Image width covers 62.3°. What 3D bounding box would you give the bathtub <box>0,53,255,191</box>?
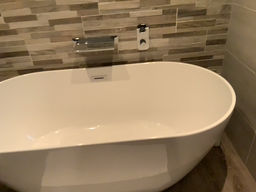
[{"bbox_3d":[-0.180,0.210,1.320,1.490,0.570,0.800,-5,32,0],"label":"bathtub"}]
